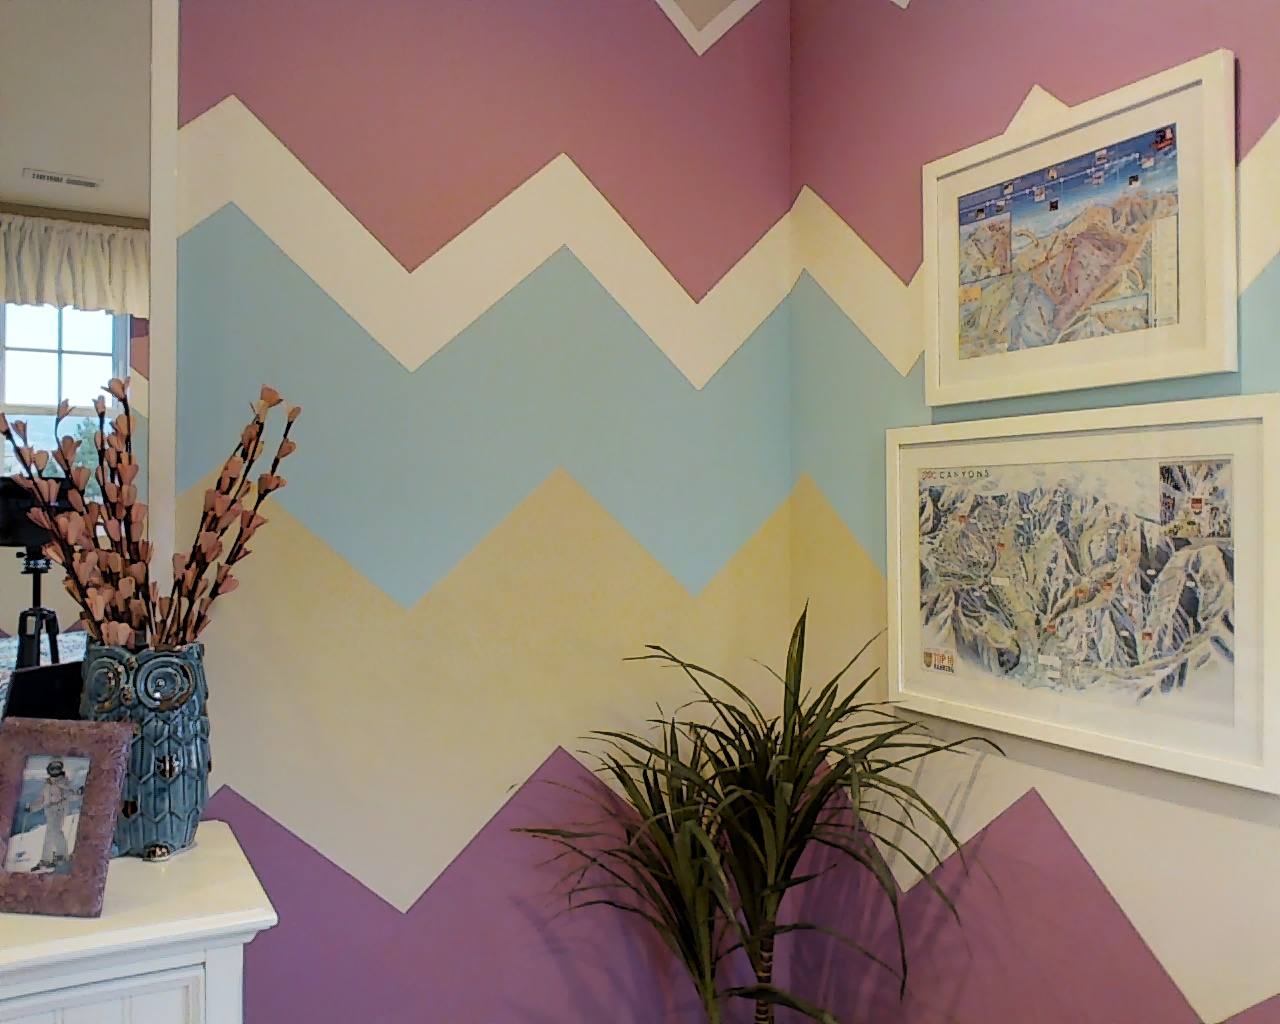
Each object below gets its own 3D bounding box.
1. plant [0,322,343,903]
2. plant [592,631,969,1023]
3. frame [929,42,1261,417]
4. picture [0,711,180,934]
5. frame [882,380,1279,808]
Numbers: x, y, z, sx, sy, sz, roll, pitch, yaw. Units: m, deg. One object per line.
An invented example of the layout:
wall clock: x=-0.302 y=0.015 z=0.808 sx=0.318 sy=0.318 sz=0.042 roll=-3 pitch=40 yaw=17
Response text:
plant: x=-0.700 y=0.130 z=1.600 sx=0.440 sy=0.750 sz=0.260 roll=0 pitch=0 yaw=-29
plant: x=0.240 y=0.670 z=1.960 sx=0.480 sy=0.830 sz=0.490 roll=0 pitch=0 yaw=-29
frame: x=0.680 y=-0.400 z=1.690 sx=0.030 sy=0.460 sz=0.580 roll=0 pitch=0 yaw=-29
picture: x=-0.750 y=0.400 z=1.390 sx=0.250 sy=0.230 sz=0.120 roll=6 pitch=17 yaw=-2
frame: x=0.660 y=0.100 z=1.680 sx=0.060 sy=0.540 sz=0.740 roll=0 pitch=0 yaw=-29
